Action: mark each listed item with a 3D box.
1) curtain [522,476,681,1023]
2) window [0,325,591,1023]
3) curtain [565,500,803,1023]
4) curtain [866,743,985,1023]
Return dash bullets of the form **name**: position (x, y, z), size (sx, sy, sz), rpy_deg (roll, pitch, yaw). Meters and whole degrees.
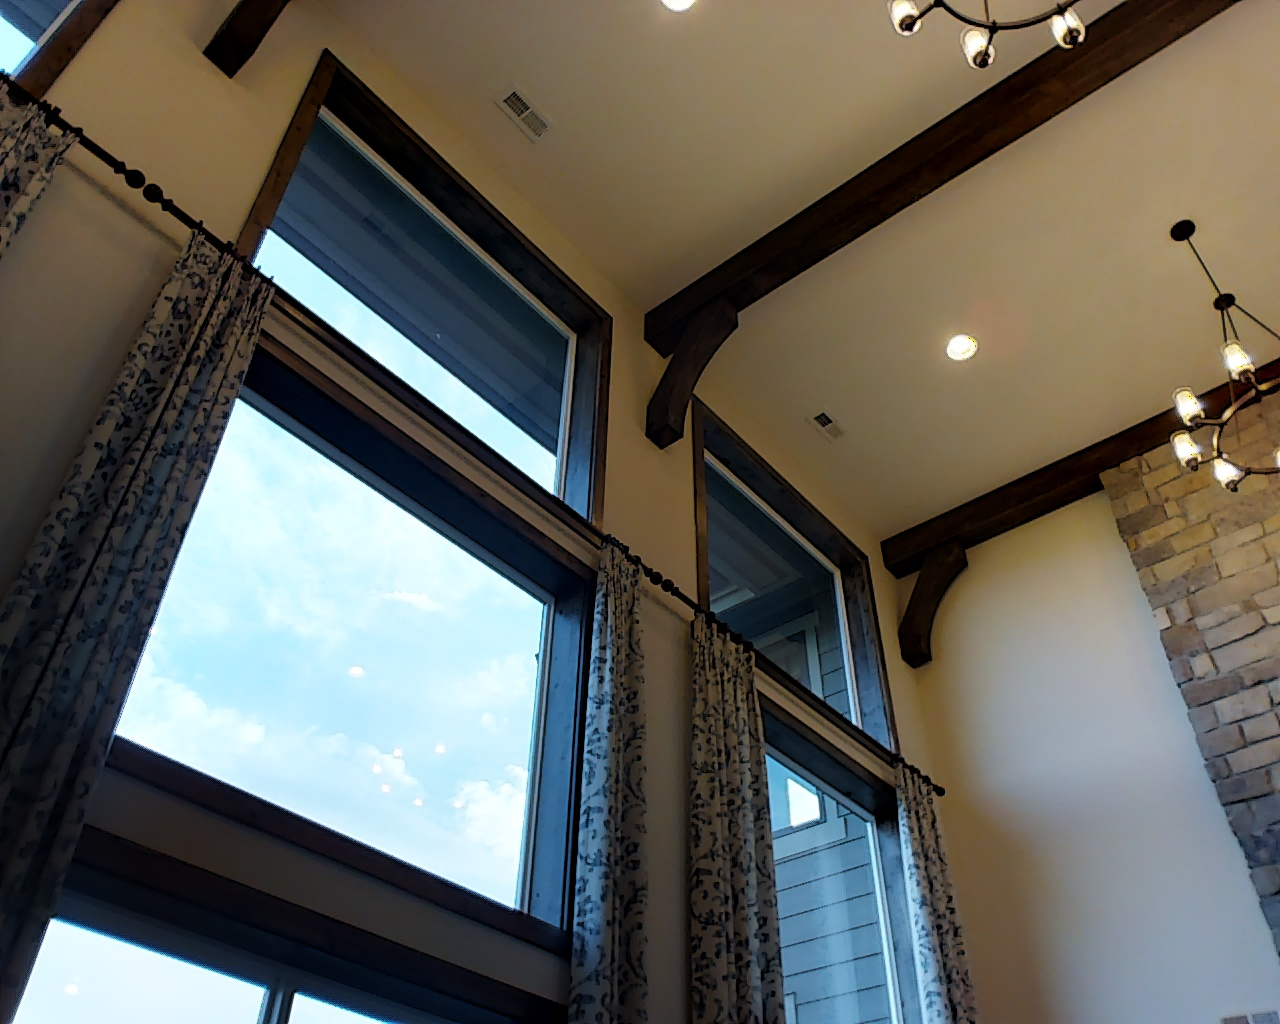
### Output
- **curtain**: position (-0.120, 1.730, 3.380), size (0.290, 4.590, 0.450), rpy_deg (-28, -49, 28)
- **window**: position (-0.870, 0.570, 3.500), size (0.250, 1.790, 1.770), rpy_deg (-28, -49, 28)
- **curtain**: position (0.190, 2.000, 3.680), size (0.240, 4.610, 1.100), rpy_deg (-28, -49, 28)
- **curtain**: position (1.480, 3.060, 4.730), size (0.200, 4.300, 0.490), rpy_deg (-28, -49, 28)
